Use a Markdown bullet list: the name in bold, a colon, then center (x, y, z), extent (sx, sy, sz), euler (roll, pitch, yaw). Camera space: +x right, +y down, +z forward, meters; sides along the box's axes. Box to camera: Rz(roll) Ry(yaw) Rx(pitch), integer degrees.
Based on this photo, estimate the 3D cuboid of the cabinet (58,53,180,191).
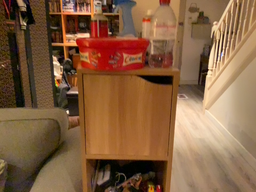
- **cabinet**: center (-0.020, 0.440, 0.940), extent (0.350, 1.210, 0.330), euler (0, 17, 2)
